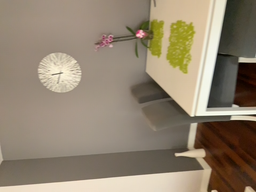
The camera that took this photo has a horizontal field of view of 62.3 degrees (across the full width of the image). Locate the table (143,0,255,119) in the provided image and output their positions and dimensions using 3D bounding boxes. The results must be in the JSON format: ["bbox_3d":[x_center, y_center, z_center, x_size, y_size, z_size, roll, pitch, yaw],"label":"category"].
[{"bbox_3d":[0.690,-0.460,1.890,1.250,0.770,0.810,-115,26,-66],"label":"table"}]
